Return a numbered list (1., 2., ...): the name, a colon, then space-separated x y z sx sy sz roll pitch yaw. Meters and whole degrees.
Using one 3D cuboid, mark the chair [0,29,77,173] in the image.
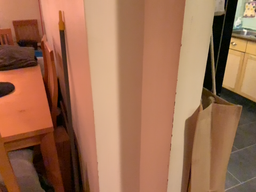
1. chair: -0.800 0.040 1.800 0.540 1.090 0.350 -10 27 -20
